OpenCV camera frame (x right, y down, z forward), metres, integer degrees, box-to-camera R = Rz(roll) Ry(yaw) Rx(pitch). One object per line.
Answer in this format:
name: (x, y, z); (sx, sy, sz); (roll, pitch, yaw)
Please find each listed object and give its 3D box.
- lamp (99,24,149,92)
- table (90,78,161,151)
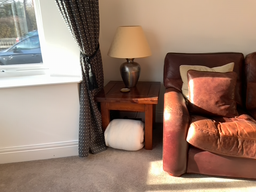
lamp: (-0.010, -0.410, 2.160); (0.410, 0.600, 0.480); (1, 20, 9)
table: (0.020, 0.150, 2.260); (0.620, 0.540, 0.630); (2, 20, 10)
